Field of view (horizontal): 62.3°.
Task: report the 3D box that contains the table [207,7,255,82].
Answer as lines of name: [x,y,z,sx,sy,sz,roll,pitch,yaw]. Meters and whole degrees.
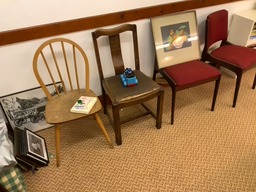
table: [1.470,-0.640,2.510,0.900,0.720,0.260,-16,41,-17]
